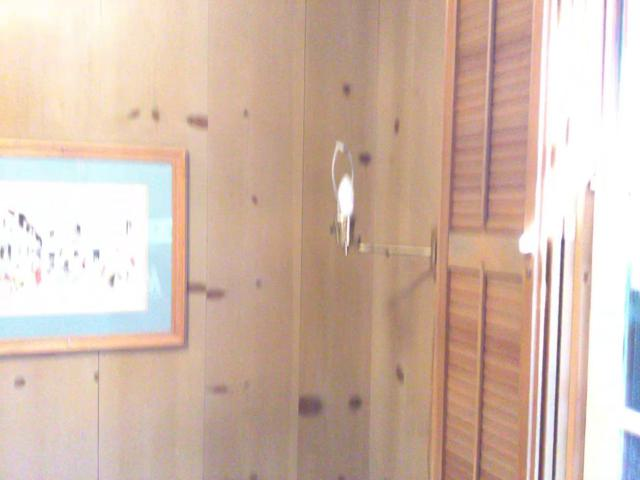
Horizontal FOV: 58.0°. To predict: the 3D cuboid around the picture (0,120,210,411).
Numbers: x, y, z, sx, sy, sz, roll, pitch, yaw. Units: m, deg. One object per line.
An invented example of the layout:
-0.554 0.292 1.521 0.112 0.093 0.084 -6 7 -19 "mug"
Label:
-0.550 0.070 1.520 0.490 0.720 0.050 2 0 -17 "picture"
